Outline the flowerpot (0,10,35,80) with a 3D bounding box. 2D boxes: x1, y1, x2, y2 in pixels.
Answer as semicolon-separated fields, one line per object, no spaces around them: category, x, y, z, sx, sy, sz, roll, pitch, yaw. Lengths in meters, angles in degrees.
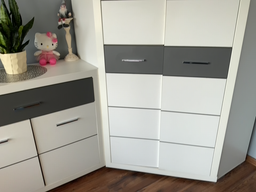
flowerpot;-0.790;-0.350;1.420;0.200;0.410;0.240;-15;26;-29
